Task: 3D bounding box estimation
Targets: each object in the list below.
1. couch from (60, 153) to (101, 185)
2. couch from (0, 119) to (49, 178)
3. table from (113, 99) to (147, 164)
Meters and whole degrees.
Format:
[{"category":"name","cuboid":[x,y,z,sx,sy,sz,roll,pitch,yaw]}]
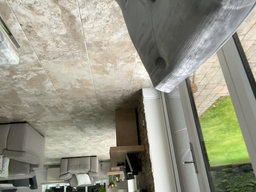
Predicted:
[{"category":"couch","cuboid":[-1.450,2.330,6.720,1.090,0.780,1.110,-3,155,-5]},{"category":"couch","cuboid":[-2.090,0.970,3.740,0.980,0.780,1.050,-3,155,-4]},{"category":"table","cuboid":[-0.010,0.640,3.470,0.400,0.720,1.250,-3,155,-4]}]
